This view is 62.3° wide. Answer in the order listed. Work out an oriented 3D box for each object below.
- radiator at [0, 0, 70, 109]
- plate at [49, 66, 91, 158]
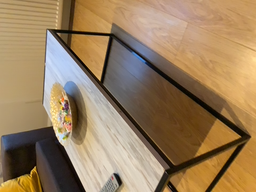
[{"bbox_3d":[-0.840,-0.480,1.710,0.150,0.630,1.280,44,130,40],"label":"radiator"},{"bbox_3d":[-0.280,0.070,0.970,0.280,0.050,0.310,48,132,38],"label":"plate"}]
